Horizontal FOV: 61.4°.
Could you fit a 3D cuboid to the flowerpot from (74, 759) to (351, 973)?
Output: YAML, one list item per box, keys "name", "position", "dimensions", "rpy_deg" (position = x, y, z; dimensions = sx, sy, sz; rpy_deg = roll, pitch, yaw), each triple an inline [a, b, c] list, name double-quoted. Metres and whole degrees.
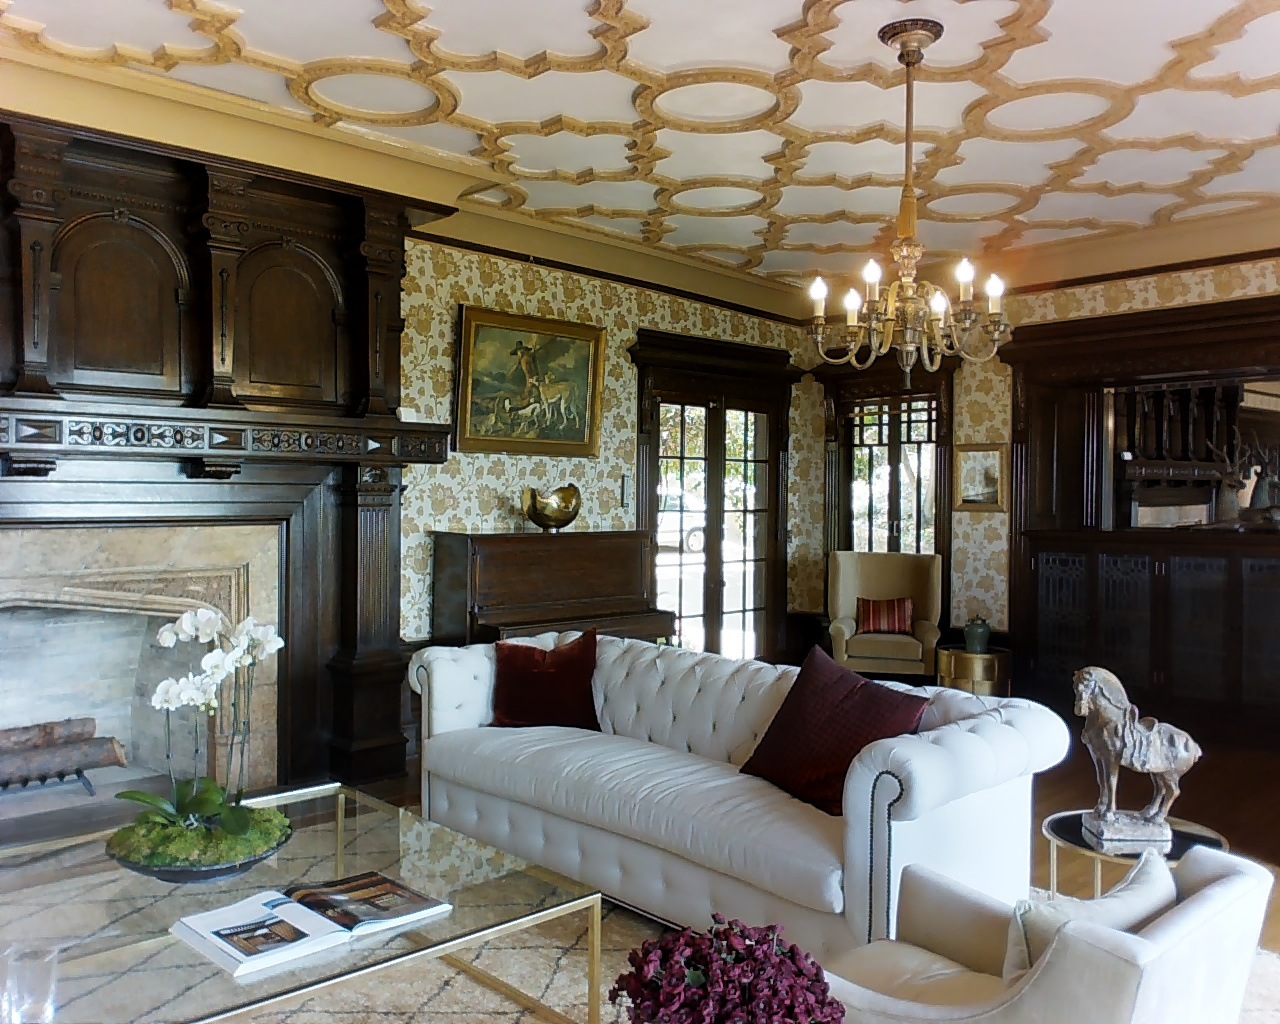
- name: "flowerpot"
  position: [-1.280, 1.020, 3.230]
  dimensions: [0.620, 0.360, 0.540]
  rpy_deg: [-1, 2, -42]

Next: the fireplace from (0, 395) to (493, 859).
- name: "fireplace"
  position: [-2.700, 0.470, 4.920]
  dimensions: [4.440, 1.930, 0.710]
  rpy_deg: [-1, 2, -44]
